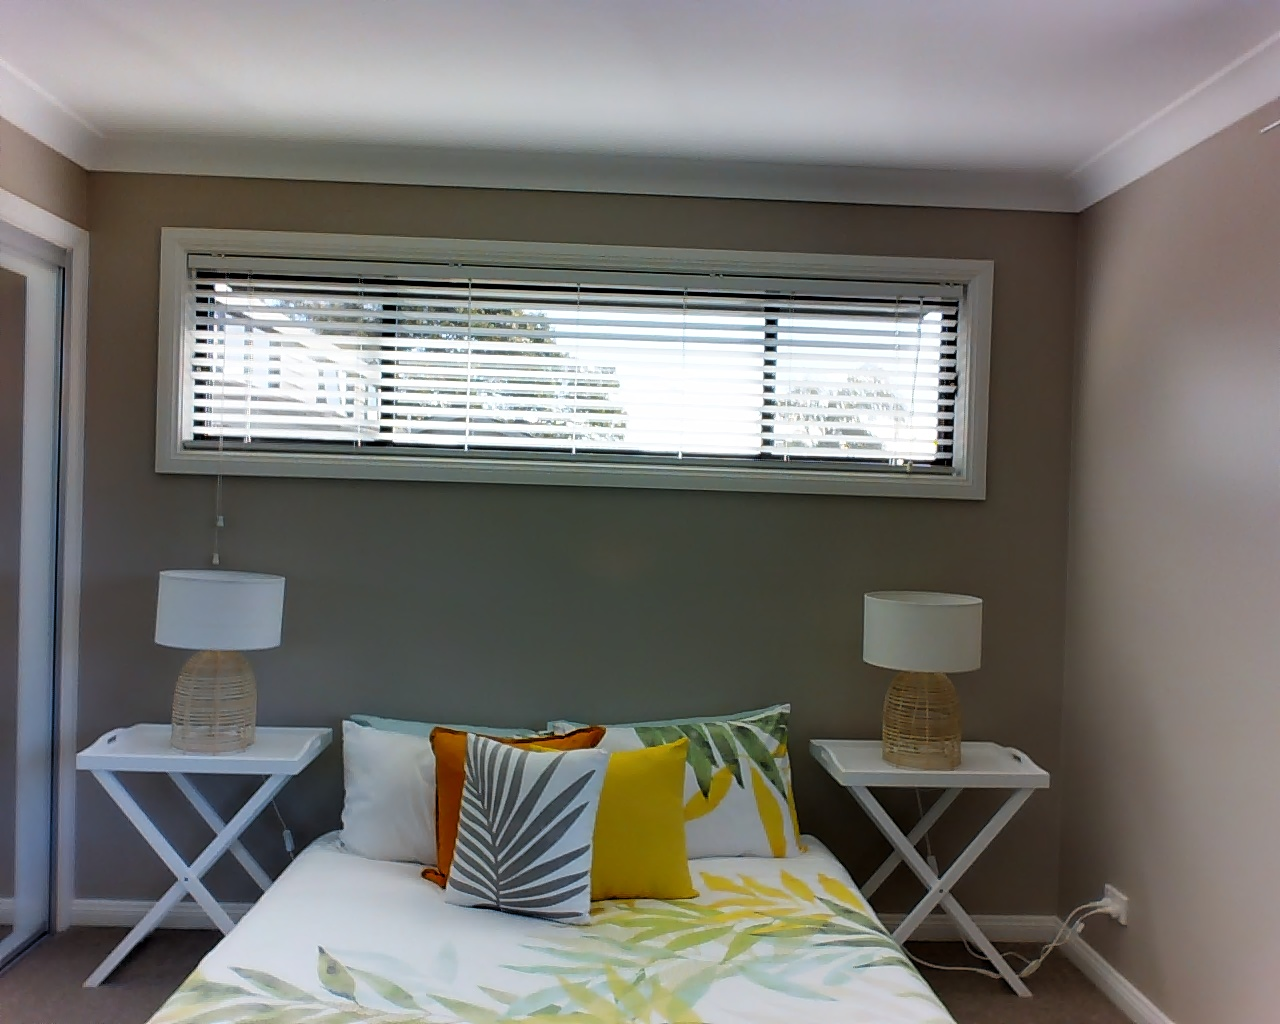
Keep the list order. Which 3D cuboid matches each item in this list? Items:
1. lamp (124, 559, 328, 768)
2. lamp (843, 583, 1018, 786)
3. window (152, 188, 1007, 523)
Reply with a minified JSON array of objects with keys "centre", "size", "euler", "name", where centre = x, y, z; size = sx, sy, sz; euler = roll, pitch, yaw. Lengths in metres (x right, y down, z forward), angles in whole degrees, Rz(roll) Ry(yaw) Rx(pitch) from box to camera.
[{"centre":[-1.160,0.410,3.050],"size":[0.400,0.520,0.460],"euler":[2,0,-2],"name":"lamp"},{"centre":[0.840,0.490,3.150],"size":[0.380,0.520,0.410],"euler":[2,0,-2],"name":"lamp"},{"centre":[-0.170,-0.470,3.300],"size":[2.569,0.930,0.100],"euler":[2,0,-2],"name":"window"}]
